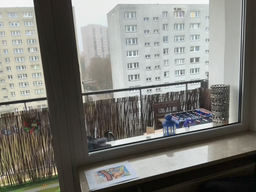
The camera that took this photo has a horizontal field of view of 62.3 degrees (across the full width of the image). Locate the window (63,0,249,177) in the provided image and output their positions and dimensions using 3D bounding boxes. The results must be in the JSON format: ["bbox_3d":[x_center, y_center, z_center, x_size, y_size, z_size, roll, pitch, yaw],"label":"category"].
[{"bbox_3d":[0.310,-0.210,1.620,1.440,1.340,0.140,-8,12,-20],"label":"window"}]
